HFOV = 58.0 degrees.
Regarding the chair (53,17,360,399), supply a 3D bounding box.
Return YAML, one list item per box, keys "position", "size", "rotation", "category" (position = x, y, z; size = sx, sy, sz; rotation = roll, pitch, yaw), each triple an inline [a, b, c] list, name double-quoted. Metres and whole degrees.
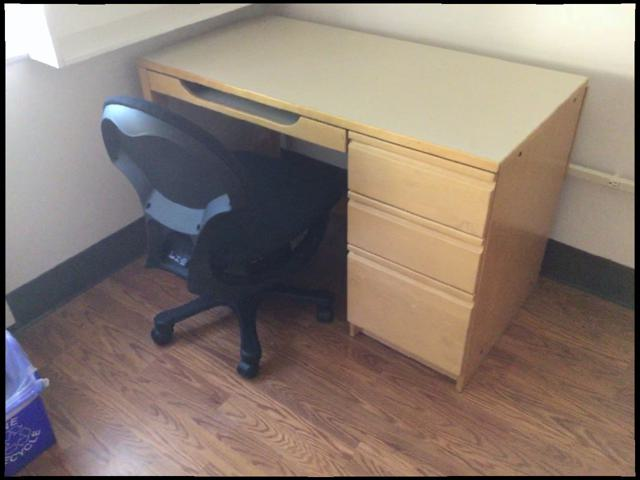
- position: [-0.259, -0.110, 1.750]
  size: [0.509, 0.861, 0.600]
  rotation: [24, 45, 29]
  category: "chair"
